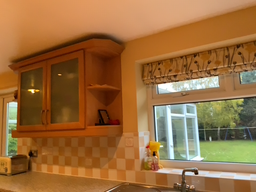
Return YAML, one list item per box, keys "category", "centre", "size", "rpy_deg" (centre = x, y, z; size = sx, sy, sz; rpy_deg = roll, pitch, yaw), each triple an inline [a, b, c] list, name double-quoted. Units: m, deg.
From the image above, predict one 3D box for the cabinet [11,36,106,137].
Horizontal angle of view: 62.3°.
- category: "cabinet"
  centre: [-0.770, -0.030, 2.260]
  size: [1.050, 0.890, 0.320]
  rpy_deg: [-7, -9, 30]
